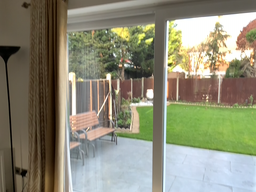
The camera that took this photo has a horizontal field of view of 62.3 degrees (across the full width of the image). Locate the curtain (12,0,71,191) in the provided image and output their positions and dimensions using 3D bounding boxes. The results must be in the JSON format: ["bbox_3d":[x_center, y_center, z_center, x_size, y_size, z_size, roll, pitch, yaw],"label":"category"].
[{"bbox_3d":[-0.800,0.220,2.000,0.460,2.320,0.190,3,6,24],"label":"curtain"}]
